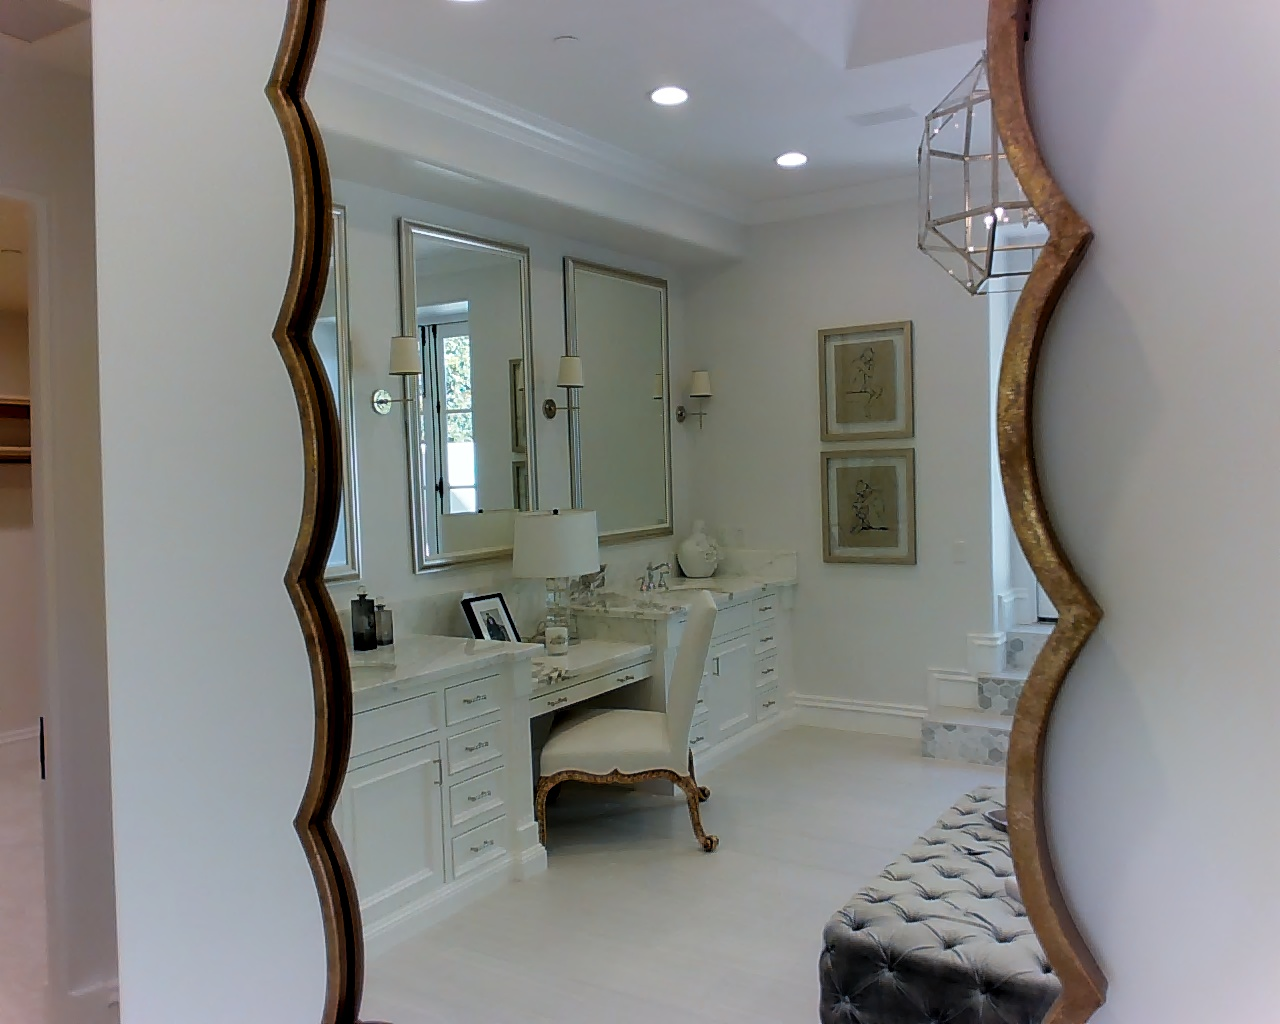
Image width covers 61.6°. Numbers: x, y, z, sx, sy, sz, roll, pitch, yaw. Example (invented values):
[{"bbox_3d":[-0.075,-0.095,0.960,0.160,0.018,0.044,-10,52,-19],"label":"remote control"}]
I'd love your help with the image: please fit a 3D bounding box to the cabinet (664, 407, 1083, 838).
[{"bbox_3d":[1.130,0.490,5.450,2.000,1.901,0.490,0,2,32],"label":"cabinet"}]
